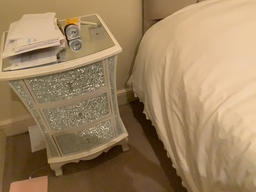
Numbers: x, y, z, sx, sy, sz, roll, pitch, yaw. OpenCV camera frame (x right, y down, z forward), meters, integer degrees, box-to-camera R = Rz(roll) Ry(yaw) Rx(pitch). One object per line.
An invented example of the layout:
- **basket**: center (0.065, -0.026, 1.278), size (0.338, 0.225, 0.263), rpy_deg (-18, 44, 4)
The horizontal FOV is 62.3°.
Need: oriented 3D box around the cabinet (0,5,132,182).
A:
- **cabinet**: center (-0.300, 0.020, 1.220), size (0.480, 0.820, 0.470), rpy_deg (-15, 46, -11)
